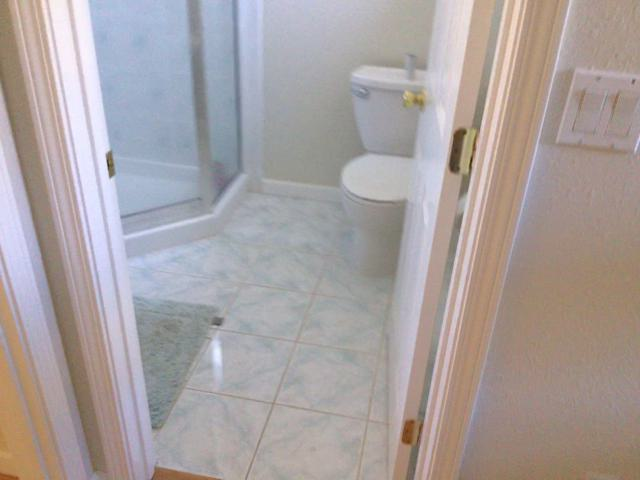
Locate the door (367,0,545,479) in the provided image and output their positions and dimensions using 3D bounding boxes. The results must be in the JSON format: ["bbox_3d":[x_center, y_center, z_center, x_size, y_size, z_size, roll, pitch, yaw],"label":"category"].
[{"bbox_3d":[0.280,-0.340,1.330,0.220,2.050,0.800,4,28,7],"label":"door"}]

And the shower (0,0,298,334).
[{"bbox_3d":[-0.840,-0.850,2.270,1.120,1.880,1.140,-12,30,-23],"label":"shower"}]

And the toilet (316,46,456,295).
[{"bbox_3d":[0.290,-0.330,2.470,0.460,0.830,0.700,6,28,12],"label":"toilet"}]
